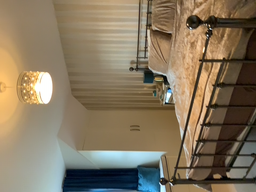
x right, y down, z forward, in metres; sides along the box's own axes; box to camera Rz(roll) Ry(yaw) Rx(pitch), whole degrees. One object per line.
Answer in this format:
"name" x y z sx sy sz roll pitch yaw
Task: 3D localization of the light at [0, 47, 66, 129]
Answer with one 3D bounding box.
"light" -0.950 -0.110 1.930 0.440 0.340 0.640 -30 49 -31
